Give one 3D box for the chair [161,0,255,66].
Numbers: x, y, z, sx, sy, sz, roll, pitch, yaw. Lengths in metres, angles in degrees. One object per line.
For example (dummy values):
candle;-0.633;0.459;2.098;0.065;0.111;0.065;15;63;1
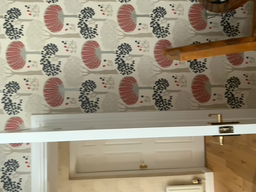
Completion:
chair;0.770;-0.500;1.250;0.520;1.030;0.540;-104;13;-72
